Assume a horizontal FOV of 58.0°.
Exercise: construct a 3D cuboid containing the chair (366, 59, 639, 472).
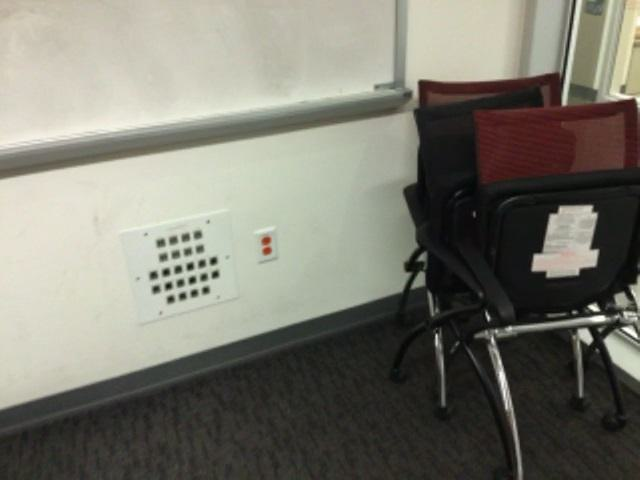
[{"bbox_3d":[0.590,-0.040,1.630,0.650,0.760,0.900,-8,25,-13],"label":"chair"}]
